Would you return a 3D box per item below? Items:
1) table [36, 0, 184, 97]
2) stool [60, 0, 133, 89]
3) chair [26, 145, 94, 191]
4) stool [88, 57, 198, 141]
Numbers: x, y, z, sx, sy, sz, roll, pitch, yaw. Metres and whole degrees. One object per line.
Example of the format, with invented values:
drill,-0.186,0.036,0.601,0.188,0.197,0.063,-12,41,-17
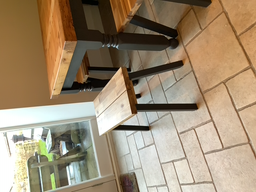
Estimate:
table,-0.280,-0.780,1.710,0.730,0.760,1.350,-41,59,57
stool,-0.370,-0.680,2.220,0.390,0.460,1.130,-41,59,57
chair,-1.190,1.460,3.610,0.720,0.920,0.920,-50,51,53
stool,0.050,0.050,1.550,0.690,0.460,0.360,-41,59,57
